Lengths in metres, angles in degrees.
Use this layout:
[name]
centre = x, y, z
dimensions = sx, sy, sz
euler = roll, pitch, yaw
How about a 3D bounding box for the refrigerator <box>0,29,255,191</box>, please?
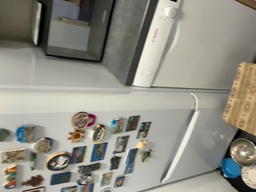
[refrigerator]
centre = -0.040, 0.110, 1.280
dimensions = 0.710, 1.500, 0.620
euler = 45, 125, 48
